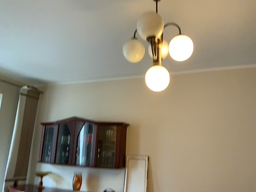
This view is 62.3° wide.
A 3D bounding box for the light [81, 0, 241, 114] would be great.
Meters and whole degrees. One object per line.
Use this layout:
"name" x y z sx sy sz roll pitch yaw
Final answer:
"light" 0.270 -0.270 1.550 0.770 0.850 0.590 45 -135 -61
